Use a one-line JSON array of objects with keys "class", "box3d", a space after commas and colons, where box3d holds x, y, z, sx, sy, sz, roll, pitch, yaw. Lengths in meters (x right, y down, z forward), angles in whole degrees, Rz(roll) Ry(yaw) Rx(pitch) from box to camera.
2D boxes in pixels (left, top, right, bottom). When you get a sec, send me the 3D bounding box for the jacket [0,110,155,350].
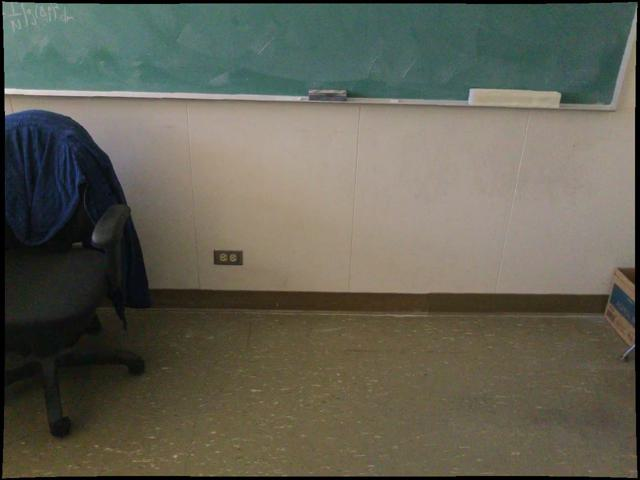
[{"class": "jacket", "box3d": [-0.918, -0.020, 1.980, 0.549, 0.792, 0.250, 0, 27, -2]}]
